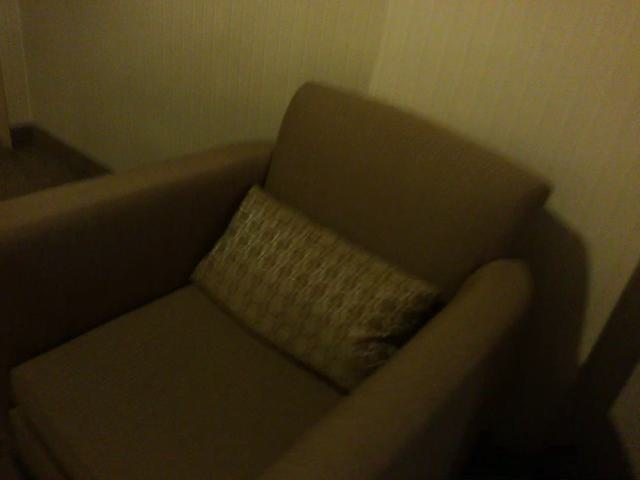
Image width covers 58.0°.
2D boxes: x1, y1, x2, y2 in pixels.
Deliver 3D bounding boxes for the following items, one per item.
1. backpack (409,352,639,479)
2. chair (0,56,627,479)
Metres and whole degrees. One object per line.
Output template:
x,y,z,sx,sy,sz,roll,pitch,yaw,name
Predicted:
0.380,0.540,1.120,0.340,0.410,0.350,29,37,29,backpack
-0.090,0.220,1.190,0.850,0.870,0.840,29,37,29,chair
